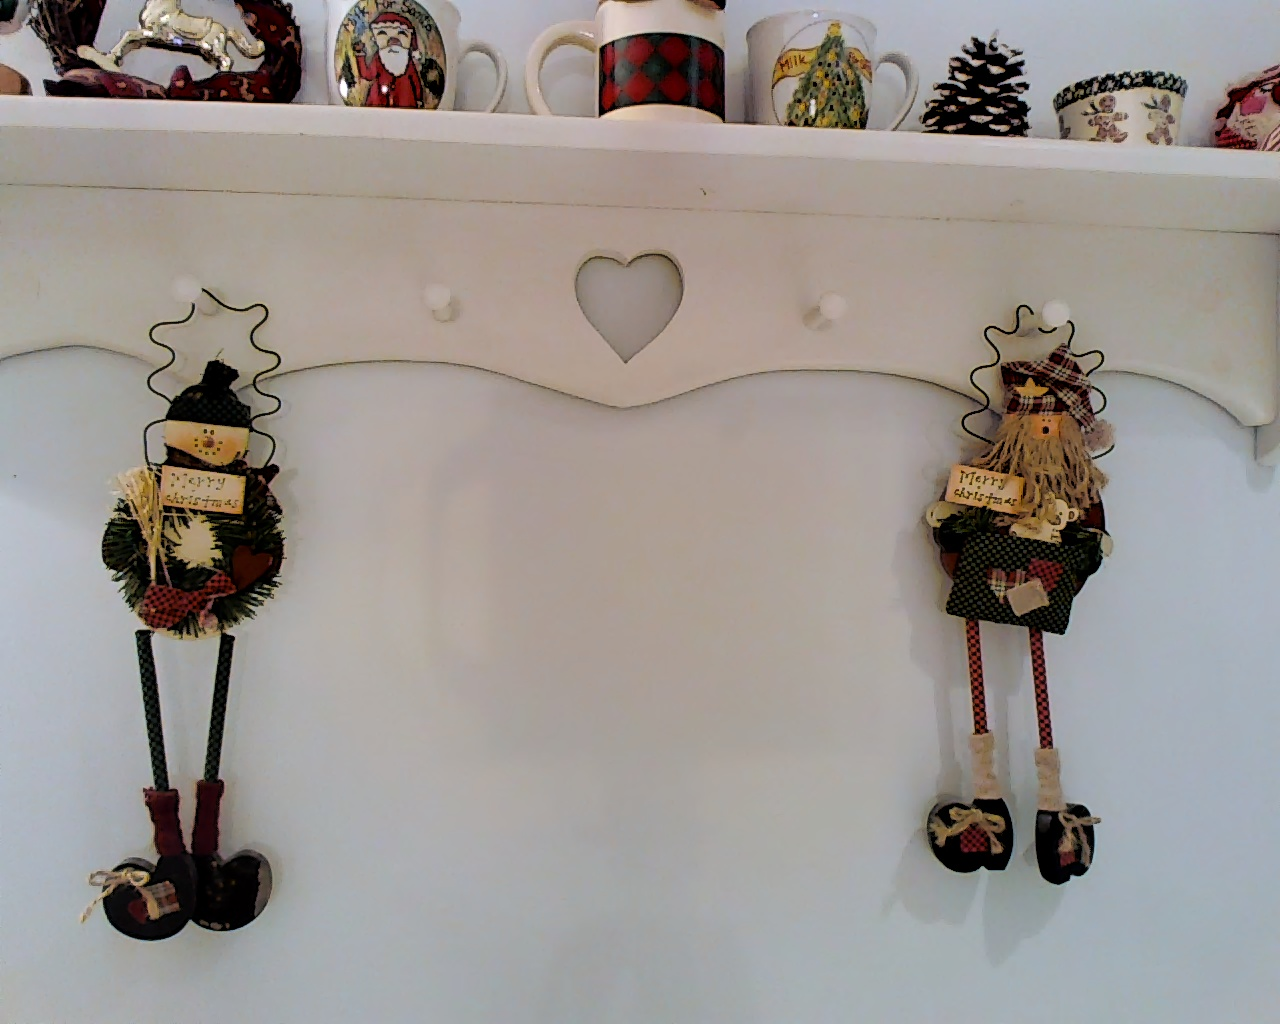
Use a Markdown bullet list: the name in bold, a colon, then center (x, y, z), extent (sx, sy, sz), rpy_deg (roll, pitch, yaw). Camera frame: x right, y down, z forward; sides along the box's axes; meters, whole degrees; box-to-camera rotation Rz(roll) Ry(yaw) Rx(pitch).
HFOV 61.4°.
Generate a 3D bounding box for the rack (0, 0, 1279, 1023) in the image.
- **rack**: center (0.020, -0.180, 0.700), extent (1.230, 0.950, 0.150), rpy_deg (0, -1, -6)

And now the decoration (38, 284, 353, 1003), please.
- **decoration**: center (-0.280, 0.080, 0.690), extent (0.180, 0.440, 0.040), rpy_deg (0, -1, -6)

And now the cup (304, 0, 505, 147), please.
- **cup**: center (-0.150, -0.310, 0.710), extent (0.120, 0.100, 0.100), rpy_deg (0, -1, -7)

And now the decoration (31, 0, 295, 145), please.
- **decoration**: center (-0.300, -0.330, 0.690), extent (0.140, 0.160, 0.070), rpy_deg (0, -1, -7)

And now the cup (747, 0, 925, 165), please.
- **cup**: center (0.130, -0.300, 0.730), extent (0.100, 0.100, 0.080), rpy_deg (0, -1, -6)

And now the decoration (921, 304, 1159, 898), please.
- **decoration**: center (0.280, 0.060, 0.760), extent (0.150, 0.400, 0.050), rpy_deg (0, -1, -6)
